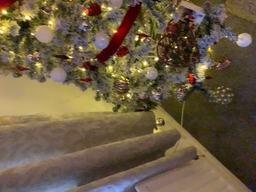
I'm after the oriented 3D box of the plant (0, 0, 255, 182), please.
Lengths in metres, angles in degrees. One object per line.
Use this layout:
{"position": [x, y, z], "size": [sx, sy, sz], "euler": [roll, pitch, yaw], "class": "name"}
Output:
{"position": [-0.330, -0.310, 0.920], "size": [0.840, 1.890, 0.840], "euler": [45, 125, 39], "class": "plant"}
